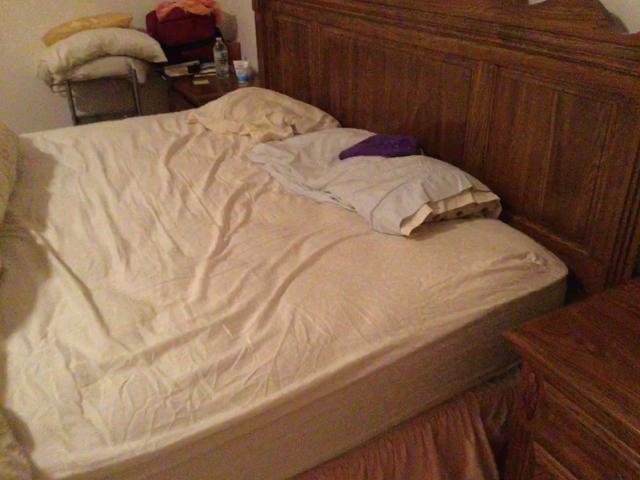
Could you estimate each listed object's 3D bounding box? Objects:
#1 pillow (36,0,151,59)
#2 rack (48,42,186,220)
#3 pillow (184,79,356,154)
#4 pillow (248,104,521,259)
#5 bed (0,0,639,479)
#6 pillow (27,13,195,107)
[{"bbox_3d":[-1.100,-1.030,2.820,0.470,0.240,0.230,-10,29,-28],"label":"pillow"},{"bbox_3d":[-1.020,-0.570,2.970,0.560,0.810,0.300,-10,29,-28],"label":"rack"},{"bbox_3d":[-0.210,-0.500,2.260,0.490,0.140,0.520,-10,29,-28],"label":"pillow"},{"bbox_3d":[0.140,-0.220,1.710,0.450,0.180,0.730,-10,29,-28],"label":"pillow"},{"bbox_3d":[-0.700,-0.170,1.600,2.290,1.640,2.080,-10,29,-28],"label":"bed"},{"bbox_3d":[-1.010,-0.890,2.820,0.680,0.350,0.420,-10,29,-28],"label":"pillow"}]
